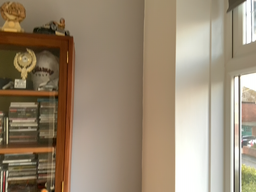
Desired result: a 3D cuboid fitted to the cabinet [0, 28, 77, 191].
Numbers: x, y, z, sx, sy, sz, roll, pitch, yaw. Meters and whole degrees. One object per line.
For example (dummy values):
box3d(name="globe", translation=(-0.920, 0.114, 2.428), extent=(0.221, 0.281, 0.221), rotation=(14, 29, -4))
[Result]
box3d(name="cabinet", translation=(-0.680, 0.100, 0.930), extent=(0.860, 0.740, 0.280), rotation=(2, -3, -13))
